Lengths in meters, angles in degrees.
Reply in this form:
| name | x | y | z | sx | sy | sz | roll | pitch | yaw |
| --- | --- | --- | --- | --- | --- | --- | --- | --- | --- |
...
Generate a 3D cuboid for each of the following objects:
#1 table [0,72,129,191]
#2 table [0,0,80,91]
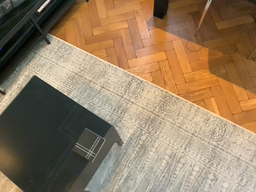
| name | x | y | z | sx | sy | sz | roll | pitch | yaw |
| --- | --- | --- | --- | --- | --- | --- | --- | --- | --- |
| table | -0.320 | 0.240 | 1.100 | 0.510 | 0.480 | 0.360 | 29 | 74 | 14 |
| table | -0.800 | -0.620 | 1.550 | 0.380 | 0.350 | 1.070 | 30 | 74 | 14 |
